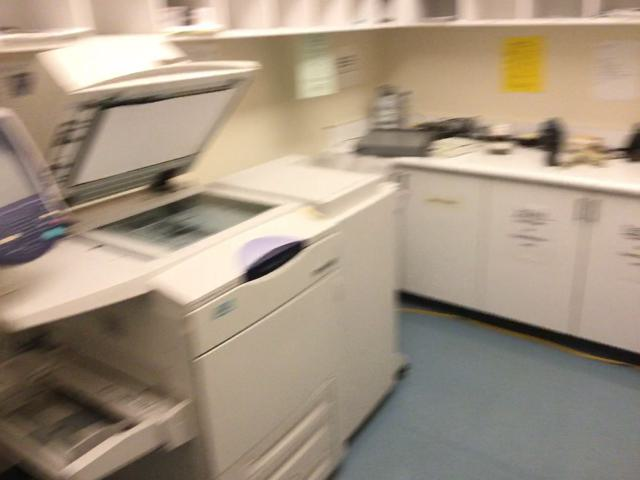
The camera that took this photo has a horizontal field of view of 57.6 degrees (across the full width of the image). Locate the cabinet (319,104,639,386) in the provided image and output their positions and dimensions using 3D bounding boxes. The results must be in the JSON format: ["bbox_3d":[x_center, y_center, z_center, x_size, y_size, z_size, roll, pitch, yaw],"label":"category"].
[{"bbox_3d":[1.270,0.000,2.630,2.640,0.930,0.690,14,27,35],"label":"cabinet"}]

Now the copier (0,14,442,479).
[{"bbox_3d":[-0.360,0.090,1.920,0.900,1.470,1.660,11,26,31],"label":"copier"}]
